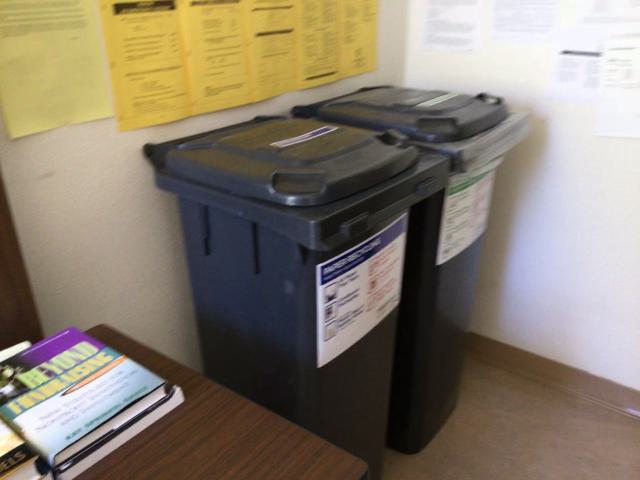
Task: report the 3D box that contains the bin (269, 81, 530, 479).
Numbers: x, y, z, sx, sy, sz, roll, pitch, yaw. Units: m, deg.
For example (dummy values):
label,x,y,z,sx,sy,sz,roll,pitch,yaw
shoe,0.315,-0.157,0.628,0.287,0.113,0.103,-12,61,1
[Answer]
label,x,y,z,sx,sy,sz,roll,pitch,yaw
bin,0.250,0.110,1.720,0.520,1.050,0.440,14,31,37

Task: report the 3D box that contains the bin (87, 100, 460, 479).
label,x,y,z,sx,sy,sz,roll,pitch,yaw
bin,-0.040,0.270,1.420,0.540,1.080,0.560,14,31,37

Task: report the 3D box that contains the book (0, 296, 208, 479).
label,x,y,z,sx,sy,sz,roll,pitch,yaw
book,-0.380,0.210,0.920,0.310,0.060,0.250,14,31,37
